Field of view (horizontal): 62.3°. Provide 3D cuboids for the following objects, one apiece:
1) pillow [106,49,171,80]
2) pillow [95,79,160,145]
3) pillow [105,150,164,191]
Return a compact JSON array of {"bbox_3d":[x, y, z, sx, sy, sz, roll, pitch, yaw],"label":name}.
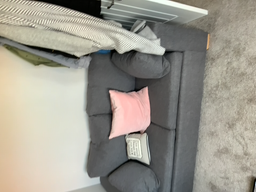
[{"bbox_3d":[0.070,-0.270,1.800,0.500,0.310,0.220,17,107,57],"label":"pillow"},{"bbox_3d":[0.000,0.150,2.010,0.270,0.400,0.490,12,81,56],"label":"pillow"},{"bbox_3d":[0.040,0.760,1.970,0.500,0.300,0.290,19,109,57],"label":"pillow"}]
